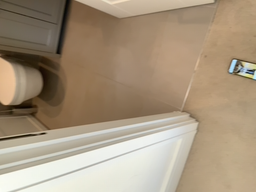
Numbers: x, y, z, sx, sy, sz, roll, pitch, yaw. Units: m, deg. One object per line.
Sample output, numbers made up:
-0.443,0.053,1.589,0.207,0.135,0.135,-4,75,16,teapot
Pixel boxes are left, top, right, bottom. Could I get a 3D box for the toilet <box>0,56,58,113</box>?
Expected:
-1.000,-0.120,1.990,0.520,0.390,0.370,24,105,36,toilet
